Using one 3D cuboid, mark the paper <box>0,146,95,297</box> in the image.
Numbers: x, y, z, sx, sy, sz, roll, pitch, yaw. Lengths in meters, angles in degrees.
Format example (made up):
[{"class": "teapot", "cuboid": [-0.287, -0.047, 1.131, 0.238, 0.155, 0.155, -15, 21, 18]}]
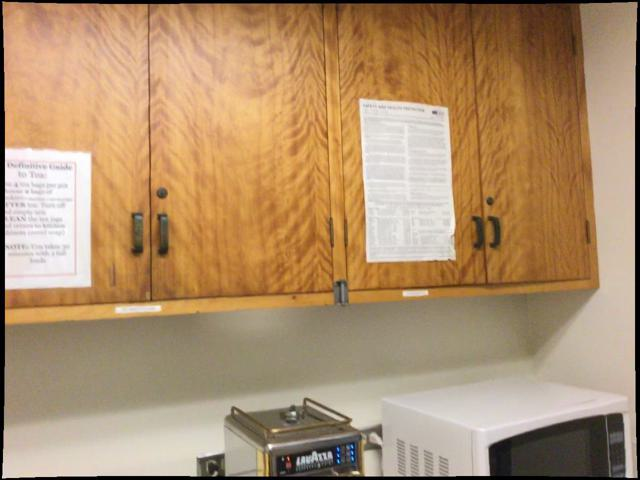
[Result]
[{"class": "paper", "cuboid": [-0.588, -0.040, 1.170, 0.230, 0.301, 0.020, -3, -3, -25]}]
